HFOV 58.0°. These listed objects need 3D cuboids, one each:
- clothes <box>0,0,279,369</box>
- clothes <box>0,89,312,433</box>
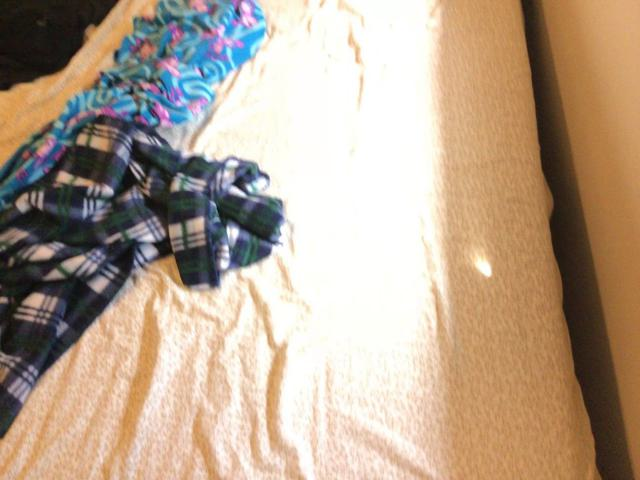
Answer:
[{"bbox_3d":[-0.420,-0.290,1.200,0.530,0.120,1.110,1,54,8],"label":"clothes"},{"bbox_3d":[-0.320,-0.010,0.970,0.540,0.120,0.590,1,54,8],"label":"clothes"}]
